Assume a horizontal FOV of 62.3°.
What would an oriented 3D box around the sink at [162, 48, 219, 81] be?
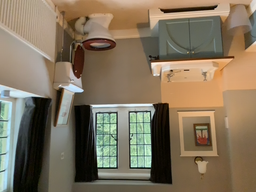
[{"bbox_3d":[0.780,-0.390,2.790,0.640,0.270,0.480,-2,172,7],"label":"sink"}]
